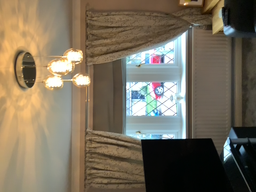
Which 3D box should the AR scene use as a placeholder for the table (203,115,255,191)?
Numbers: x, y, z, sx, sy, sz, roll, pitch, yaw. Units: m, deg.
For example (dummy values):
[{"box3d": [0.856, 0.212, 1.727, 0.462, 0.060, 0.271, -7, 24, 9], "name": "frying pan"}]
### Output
[{"box3d": [1.280, 0.880, 2.110, 1.430, 0.540, 0.550, -91, 2, -52], "name": "table"}]
